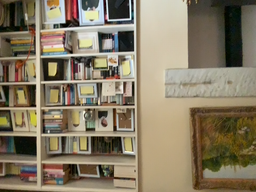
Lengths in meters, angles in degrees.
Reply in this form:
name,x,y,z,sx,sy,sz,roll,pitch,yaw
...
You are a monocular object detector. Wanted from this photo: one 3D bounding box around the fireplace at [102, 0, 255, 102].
name,x,y,z,sx,sy,sz,roll,pitch,yaw
fireplace,0.930,-0.720,1.770,2.130,1.520,0.900,0,180,6
